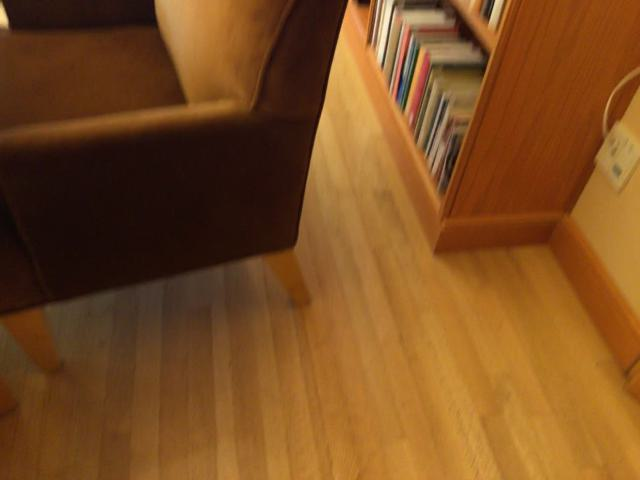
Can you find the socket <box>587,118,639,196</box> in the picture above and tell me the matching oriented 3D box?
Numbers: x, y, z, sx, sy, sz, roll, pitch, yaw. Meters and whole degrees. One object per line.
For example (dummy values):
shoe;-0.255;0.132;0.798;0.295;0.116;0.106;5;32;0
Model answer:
socket;0.680;-0.190;1.320;0.030;0.130;0.120;-3;47;-10
